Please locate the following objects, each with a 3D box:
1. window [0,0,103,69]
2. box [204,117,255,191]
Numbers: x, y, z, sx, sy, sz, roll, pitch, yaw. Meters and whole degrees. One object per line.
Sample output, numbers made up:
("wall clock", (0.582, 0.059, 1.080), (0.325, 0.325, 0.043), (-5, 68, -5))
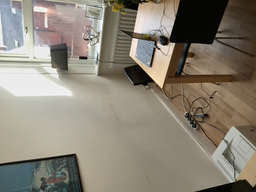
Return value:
("window", (-1.290, -0.900, 2.790), (0.240, 1.810, 1.040), (-127, 41, -54))
("box", (0.920, 0.490, 1.750), (0.410, 0.230, 0.470), (-129, 43, -54))
